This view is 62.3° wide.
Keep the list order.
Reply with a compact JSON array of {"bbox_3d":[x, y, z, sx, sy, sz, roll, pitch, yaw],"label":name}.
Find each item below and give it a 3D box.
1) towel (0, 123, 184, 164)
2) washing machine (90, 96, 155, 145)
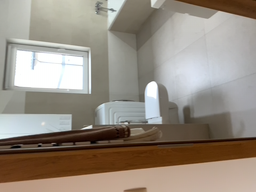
[{"bbox_3d":[-0.280,0.270,1.250,0.530,1.070,0.160,151,119,-64],"label":"towel"},{"bbox_3d":[-0.110,0.400,3.360,0.620,0.840,0.670,154,116,-64],"label":"washing machine"}]
